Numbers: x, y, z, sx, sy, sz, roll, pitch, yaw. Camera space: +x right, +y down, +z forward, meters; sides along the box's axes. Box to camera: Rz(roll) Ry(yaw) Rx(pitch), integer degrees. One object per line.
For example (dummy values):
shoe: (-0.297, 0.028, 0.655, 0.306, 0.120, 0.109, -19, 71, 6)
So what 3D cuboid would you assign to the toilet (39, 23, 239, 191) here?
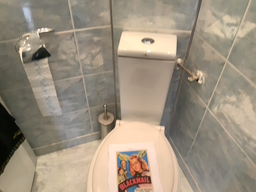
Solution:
toilet: (0.040, 0.260, 0.940, 0.390, 0.840, 0.760, 4, 45, 2)
